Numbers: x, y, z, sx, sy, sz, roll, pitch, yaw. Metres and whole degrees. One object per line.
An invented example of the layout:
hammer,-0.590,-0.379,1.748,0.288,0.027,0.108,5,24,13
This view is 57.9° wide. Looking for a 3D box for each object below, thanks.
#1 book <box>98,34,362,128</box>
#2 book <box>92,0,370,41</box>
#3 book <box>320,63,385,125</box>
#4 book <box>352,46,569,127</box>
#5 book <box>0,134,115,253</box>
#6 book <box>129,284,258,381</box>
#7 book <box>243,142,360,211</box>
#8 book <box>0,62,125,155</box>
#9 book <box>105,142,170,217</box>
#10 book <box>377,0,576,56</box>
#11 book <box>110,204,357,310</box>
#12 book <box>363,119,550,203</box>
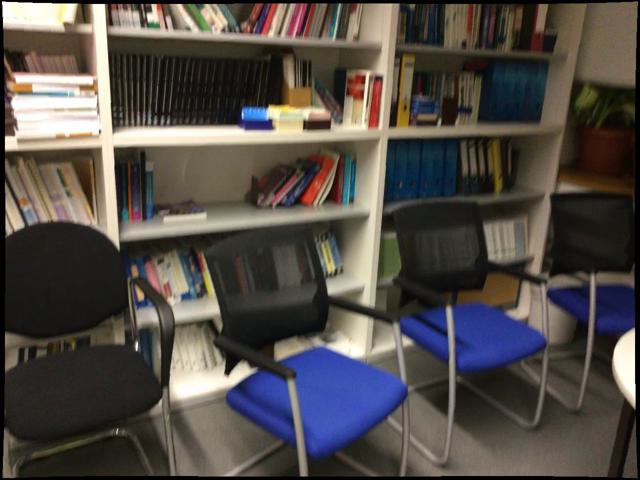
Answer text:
book,-0.360,-0.691,2.490,1.059,0.330,0.300,-8,22,-27
book,-0.340,-1.001,2.420,1.129,0.280,0.260,-8,22,-27
book,0.140,-0.681,2.670,0.100,0.240,0.390,-8,22,-27
book,0.729,-0.801,2.980,1.069,0.340,0.380,-8,22,-27
book,-1.389,-0.150,2.050,1.169,0.330,0.420,-8,22,-27
book,-0.569,0.410,2.650,0.540,0.290,0.180,-8,22,-27
book,-0.090,-0.310,2.750,0.490,0.240,0.250,-8,22,-27
book,-0.929,-0.470,2.030,0.410,0.280,0.220,-8,22,-27
book,-0.769,-0.260,2.440,0.210,0.260,0.190,-8,22,-27
book,0.799,-1.141,2.900,0.979,0.390,0.330,-8,22,-27
book,-0.380,0.050,2.740,1.109,0.270,0.290,-8,22,-27
book,0.739,-0.440,3.080,1.039,0.340,0.230,-8,22,-27
